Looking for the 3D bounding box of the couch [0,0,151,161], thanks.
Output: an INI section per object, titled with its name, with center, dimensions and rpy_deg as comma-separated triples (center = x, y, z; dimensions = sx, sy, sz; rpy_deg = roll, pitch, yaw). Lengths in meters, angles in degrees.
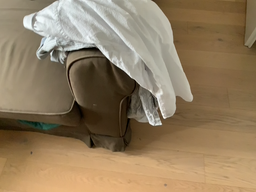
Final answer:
[couch]
center = -0.390, -0.180, 0.940
dimensions = 0.920, 0.670, 0.650
rpy_deg = 6, 60, 3
